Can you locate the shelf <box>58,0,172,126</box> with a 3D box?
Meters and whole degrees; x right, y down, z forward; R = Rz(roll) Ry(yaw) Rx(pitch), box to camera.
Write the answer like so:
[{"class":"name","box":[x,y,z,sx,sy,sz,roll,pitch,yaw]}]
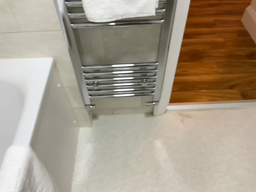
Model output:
[{"class":"shelf","box":[-0.040,-0.250,0.840,0.380,1.290,0.060,-2,51,0]}]
